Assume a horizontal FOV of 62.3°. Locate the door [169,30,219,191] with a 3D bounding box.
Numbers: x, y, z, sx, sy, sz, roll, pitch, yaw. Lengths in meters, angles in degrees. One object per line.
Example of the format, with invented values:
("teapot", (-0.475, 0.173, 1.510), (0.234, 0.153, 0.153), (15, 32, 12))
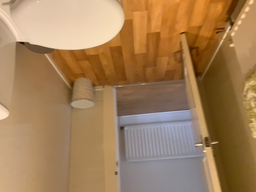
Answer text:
("door", (0.580, 0.530, 1.610), (0.120, 2.030, 0.670), (-12, 156, 17))
